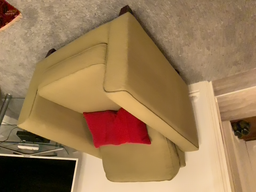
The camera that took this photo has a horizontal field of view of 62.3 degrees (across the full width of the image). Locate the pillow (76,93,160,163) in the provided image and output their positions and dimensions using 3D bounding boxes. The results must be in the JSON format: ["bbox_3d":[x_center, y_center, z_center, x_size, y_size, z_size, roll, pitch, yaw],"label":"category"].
[{"bbox_3d":[-0.080,0.190,1.390,0.490,0.270,0.170,17,164,42],"label":"pillow"}]
